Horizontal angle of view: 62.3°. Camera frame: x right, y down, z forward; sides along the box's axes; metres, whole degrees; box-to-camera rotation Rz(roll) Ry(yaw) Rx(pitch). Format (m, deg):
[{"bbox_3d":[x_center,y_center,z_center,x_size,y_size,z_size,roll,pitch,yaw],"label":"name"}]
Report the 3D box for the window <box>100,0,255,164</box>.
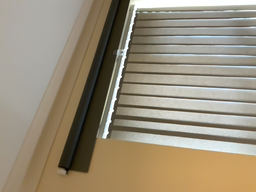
[{"bbox_3d":[0.580,-0.180,1.190,0.070,1.260,1.080,75,-157,-56],"label":"window"}]
